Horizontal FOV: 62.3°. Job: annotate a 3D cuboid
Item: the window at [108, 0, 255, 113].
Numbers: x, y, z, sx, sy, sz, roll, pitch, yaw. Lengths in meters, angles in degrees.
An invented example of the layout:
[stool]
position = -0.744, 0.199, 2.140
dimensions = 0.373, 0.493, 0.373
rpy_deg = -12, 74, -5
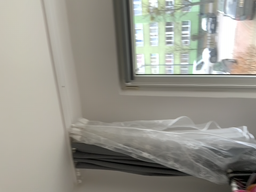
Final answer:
[window]
position = 0.480, -0.420, 1.250
dimensions = 0.160, 1.180, 1.040
rpy_deg = -57, -34, -65

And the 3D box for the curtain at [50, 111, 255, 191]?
[curtain]
position = 0.150, 0.400, 1.470
dimensions = 0.280, 1.300, 0.450
rpy_deg = -56, -35, -65
